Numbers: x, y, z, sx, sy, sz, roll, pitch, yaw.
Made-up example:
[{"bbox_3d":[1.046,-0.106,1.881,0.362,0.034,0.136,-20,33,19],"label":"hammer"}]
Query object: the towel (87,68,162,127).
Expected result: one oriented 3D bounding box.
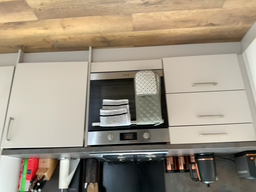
[{"bbox_3d":[-0.030,0.010,1.620,0.530,0.410,0.130,-2,159,0],"label":"towel"}]
